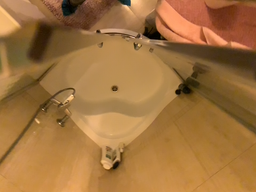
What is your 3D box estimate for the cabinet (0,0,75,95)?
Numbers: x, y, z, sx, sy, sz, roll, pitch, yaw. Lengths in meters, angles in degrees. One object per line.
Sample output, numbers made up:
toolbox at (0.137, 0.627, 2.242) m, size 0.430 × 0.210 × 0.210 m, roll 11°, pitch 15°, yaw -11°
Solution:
cabinet at (-0.740, -0.390, 1.530) m, size 0.410 × 0.830 × 0.400 m, roll -44°, pitch 104°, yaw 8°
